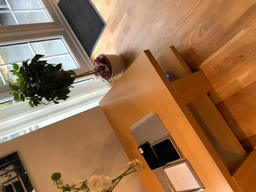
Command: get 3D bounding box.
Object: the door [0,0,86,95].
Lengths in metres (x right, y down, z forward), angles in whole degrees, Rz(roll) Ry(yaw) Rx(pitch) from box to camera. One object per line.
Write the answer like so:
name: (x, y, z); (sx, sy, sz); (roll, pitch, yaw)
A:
door: (-1.590, -0.690, 1.890); (1.630, 1.970, 0.080); (60, 140, 10)

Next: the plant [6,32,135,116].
plant: (-0.440, -0.220, 1.750); (0.370, 0.900, 0.340); (57, 140, 14)

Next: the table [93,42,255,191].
table: (0.330, 0.360, 1.510); (1.170, 0.400, 0.790); (59, 140, 12)
